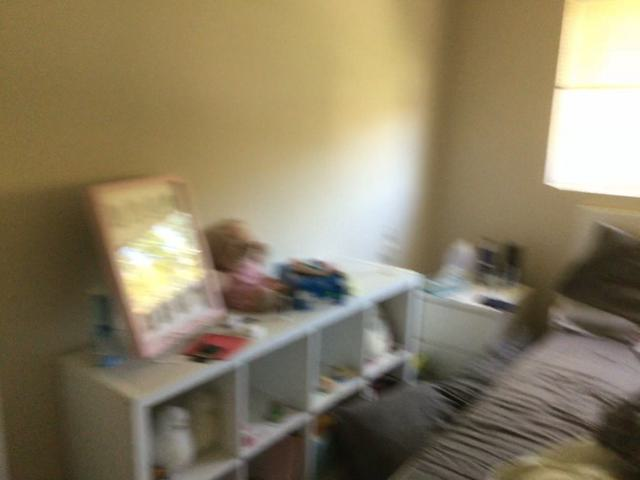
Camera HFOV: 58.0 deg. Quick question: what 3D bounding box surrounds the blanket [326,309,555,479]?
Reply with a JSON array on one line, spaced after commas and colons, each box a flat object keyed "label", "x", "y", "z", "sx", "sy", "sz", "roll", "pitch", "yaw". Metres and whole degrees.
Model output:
[{"label": "blanket", "x": 0.550, "y": 0.680, "z": 2.450, "sx": 1.060, "sy": 0.430, "sz": 0.360, "roll": -15, "pitch": 18, "yaw": -39}]

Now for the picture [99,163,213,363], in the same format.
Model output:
[{"label": "picture", "x": -0.480, "y": 0.060, "z": 1.720, "sx": 0.070, "sy": 0.490, "sz": 0.390, "roll": 21, "pitch": 30, "yaw": 18}]
